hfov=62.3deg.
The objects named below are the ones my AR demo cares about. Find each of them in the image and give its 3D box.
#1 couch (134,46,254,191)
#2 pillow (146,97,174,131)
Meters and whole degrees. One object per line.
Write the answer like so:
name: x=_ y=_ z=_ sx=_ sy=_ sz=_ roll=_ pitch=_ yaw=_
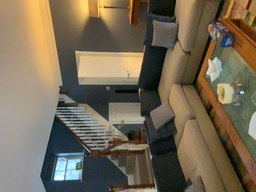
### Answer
couch: x=0.680 y=0.580 z=3.060 sx=3.370 sy=0.670 sz=1.070 roll=-98 pitch=11 yaw=-48
pillow: x=0.480 y=0.270 z=3.250 sx=0.350 sy=0.120 sz=0.400 roll=-43 pitch=32 yaw=22
